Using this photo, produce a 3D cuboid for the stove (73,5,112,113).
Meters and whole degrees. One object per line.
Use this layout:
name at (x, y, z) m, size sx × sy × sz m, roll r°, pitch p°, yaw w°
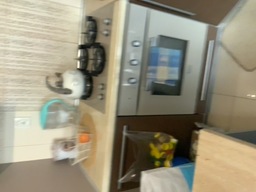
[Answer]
stove at (-0.250, -0.230, 1.380) m, size 0.460 × 0.050 × 0.590 m, roll 16°, pitch 102°, yaw 58°
